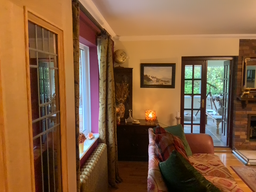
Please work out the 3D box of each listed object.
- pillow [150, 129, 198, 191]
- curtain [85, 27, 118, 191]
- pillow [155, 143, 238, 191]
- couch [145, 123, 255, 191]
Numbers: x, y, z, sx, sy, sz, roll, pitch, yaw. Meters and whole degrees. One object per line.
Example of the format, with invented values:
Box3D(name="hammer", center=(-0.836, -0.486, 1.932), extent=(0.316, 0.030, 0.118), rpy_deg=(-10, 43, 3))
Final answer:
Box3D(name="pillow", center=(0.480, 0.710, 2.360), extent=(0.430, 0.560, 0.520), rpy_deg=(0, 6, 4))
Box3D(name="curtain", center=(-0.370, 0.210, 3.130), extent=(0.360, 2.300, 0.440), rpy_deg=(1, 6, 6))
Box3D(name="pillow", center=(0.550, 0.760, 1.850), extent=(0.590, 0.580, 0.400), rpy_deg=(0, 6, 2))
Box3D(name="couch", center=(0.780, 1.010, 2.610), extent=(1.110, 0.840, 2.280), rpy_deg=(0, 6, 4))
